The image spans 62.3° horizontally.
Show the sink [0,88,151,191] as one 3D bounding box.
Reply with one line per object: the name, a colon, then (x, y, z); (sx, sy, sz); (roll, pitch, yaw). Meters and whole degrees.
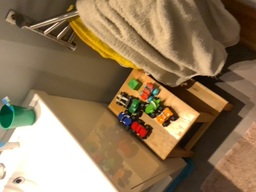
sink: (-0.300, 0.370, 0.720); (0.480, 0.130, 0.620); (40, 103, 27)
